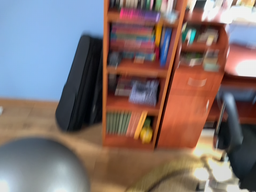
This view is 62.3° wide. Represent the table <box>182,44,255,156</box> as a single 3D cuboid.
[{"bbox_3d":[0.980,0.050,1.670,0.870,0.700,0.470,4,36,-2],"label":"table"}]
